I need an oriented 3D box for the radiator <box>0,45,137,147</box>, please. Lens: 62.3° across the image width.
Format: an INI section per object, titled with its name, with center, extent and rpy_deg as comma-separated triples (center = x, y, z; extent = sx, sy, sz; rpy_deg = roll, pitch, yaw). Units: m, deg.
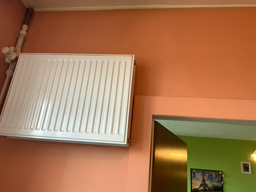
[radiator]
center = -0.340, -0.020, 1.200
extent = 0.730, 0.540, 0.130
rpy_deg = 2, -21, 9
